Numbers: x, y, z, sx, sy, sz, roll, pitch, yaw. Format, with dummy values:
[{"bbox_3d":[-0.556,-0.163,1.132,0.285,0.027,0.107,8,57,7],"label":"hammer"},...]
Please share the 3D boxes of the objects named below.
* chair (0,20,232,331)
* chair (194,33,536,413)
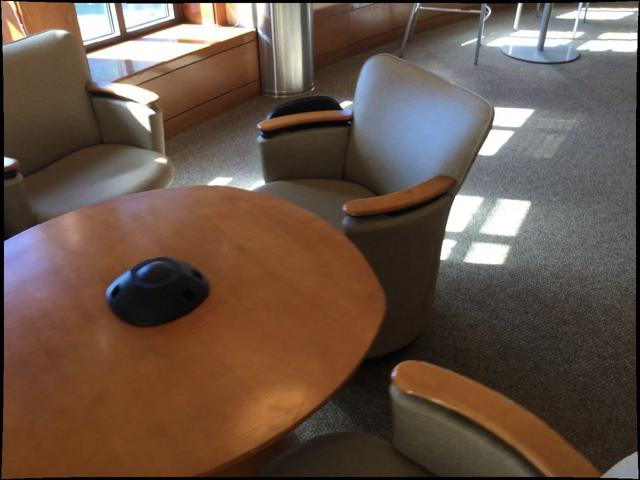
[{"bbox_3d":[-0.898,-0.301,2.010,0.789,0.691,0.760,19,37,30],"label":"chair"},{"bbox_3d":[0.100,-0.120,1.870,0.679,0.841,0.750,-18,35,-23],"label":"chair"}]
